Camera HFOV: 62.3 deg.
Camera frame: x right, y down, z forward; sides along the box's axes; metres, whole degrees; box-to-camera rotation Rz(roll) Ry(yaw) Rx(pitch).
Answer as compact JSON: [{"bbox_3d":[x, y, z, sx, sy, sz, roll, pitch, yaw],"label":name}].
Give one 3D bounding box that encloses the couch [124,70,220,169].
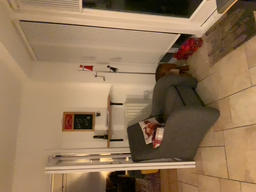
[{"bbox_3d":[0.470,0.310,2.840,0.800,0.820,1.010,-104,20,-52],"label":"couch"}]
